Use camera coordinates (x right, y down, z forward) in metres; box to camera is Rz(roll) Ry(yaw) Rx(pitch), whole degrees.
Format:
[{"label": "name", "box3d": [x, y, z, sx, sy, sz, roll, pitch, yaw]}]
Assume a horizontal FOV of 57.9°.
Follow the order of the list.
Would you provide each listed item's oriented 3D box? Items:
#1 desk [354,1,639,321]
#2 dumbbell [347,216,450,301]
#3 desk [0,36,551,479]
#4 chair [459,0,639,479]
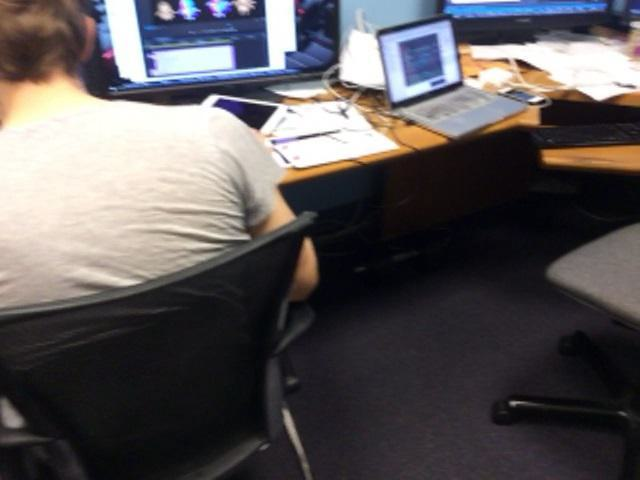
[{"label": "desk", "box3d": [1.110, -0.260, 1.890, 1.860, 0.710, 0.800, 8, 35, 9]}, {"label": "dumbbell", "box3d": [0.280, 0.060, 2.100, 0.300, 0.150, 0.200, -17, 39, -25]}, {"label": "desk", "box3d": [-0.450, 0.010, 1.520, 2.020, 0.660, 0.700, -17, 39, -25]}, {"label": "chair", "box3d": [0.800, 0.080, 1.210, 0.600, 1.100, 0.580, -17, 38, -25]}]
